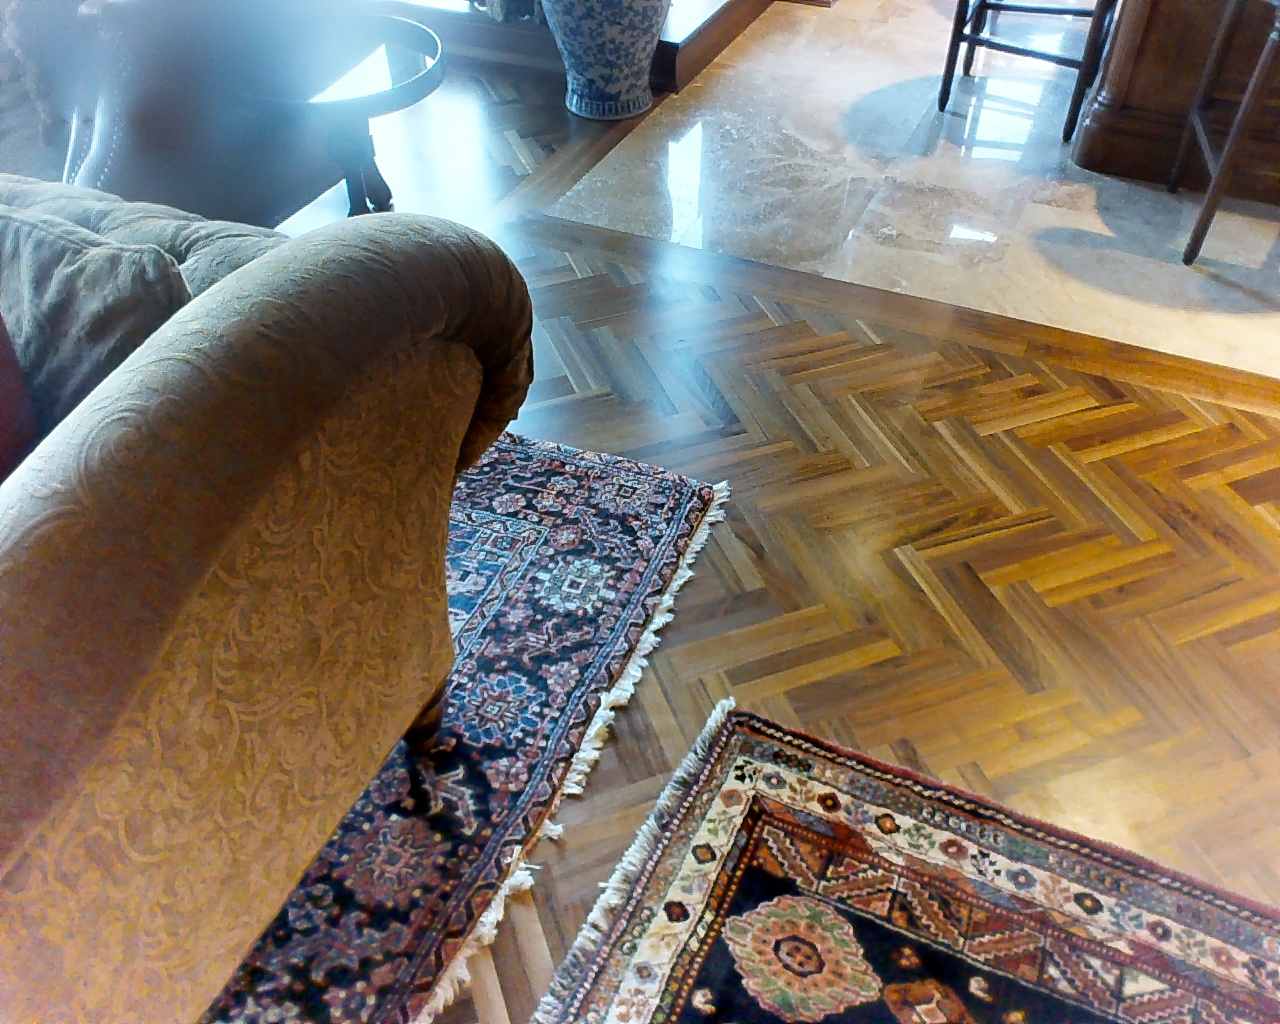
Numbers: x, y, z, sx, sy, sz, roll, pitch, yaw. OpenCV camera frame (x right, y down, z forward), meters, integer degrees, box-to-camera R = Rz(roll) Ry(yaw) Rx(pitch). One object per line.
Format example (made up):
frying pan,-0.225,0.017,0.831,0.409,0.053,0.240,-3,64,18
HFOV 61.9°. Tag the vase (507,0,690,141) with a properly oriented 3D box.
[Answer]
vase,-0.120,-1.660,3.250,0.410,0.840,0.450,17,46,18

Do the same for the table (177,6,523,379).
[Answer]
table,-0.620,-0.740,2.460,0.470,0.600,0.490,17,46,18
